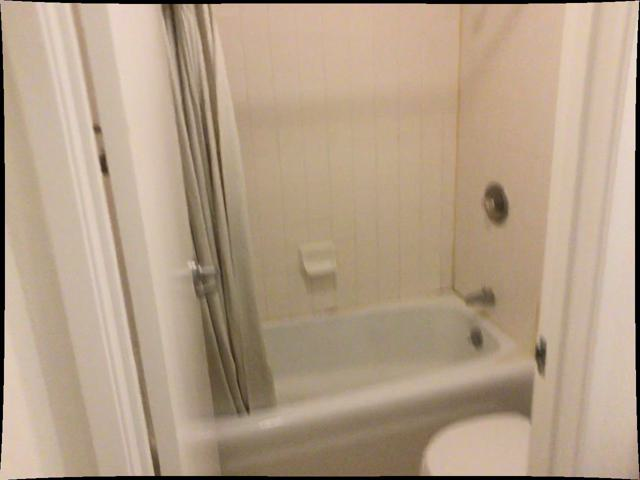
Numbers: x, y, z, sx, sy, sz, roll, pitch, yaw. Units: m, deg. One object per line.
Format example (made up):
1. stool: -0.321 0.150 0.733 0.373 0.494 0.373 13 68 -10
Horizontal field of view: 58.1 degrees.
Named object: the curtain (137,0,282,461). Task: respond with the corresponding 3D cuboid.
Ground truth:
1. curtain: -0.319 -0.080 1.730 0.260 1.582 0.210 -8 20 -13
